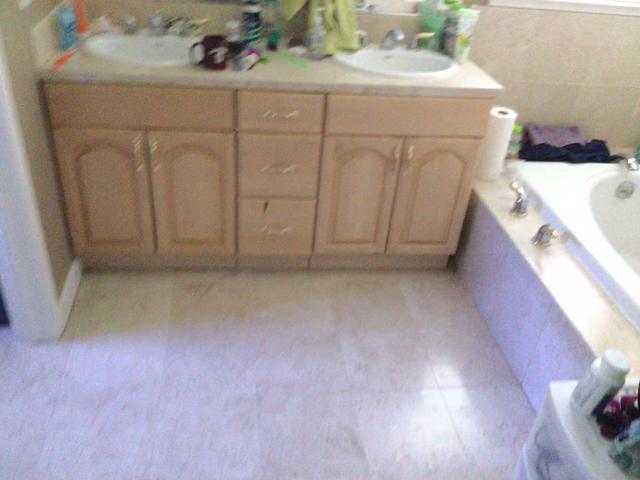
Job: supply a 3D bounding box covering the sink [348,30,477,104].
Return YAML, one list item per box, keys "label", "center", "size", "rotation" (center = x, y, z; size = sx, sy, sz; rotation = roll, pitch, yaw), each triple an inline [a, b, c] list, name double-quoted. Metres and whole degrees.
- label: "sink"
  center: [0.340, -0.680, 2.250]
  size: [0.380, 0.160, 0.390]
  rotation: [-1, 32, -10]

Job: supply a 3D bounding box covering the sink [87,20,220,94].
- label: "sink"
  center: [-0.580, -0.670, 2.100]
  size: [0.420, 0.140, 0.400]
  rotation: [-1, 32, -10]
